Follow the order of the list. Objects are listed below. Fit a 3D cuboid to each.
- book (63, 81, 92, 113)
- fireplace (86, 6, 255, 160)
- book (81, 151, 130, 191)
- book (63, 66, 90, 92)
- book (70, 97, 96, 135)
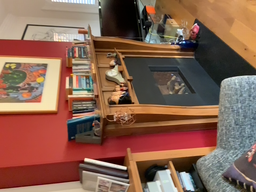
[{"bbox_3d":[-0.440,0.000,1.850,0.260,0.230,0.140,-108,21,-47],"label":"book"},{"bbox_3d":[0.300,-0.280,2.330,1.600,1.400,0.770,-108,21,-47],"label":"fireplace"},{"bbox_3d":[-0.180,0.600,1.550,0.200,0.310,0.330,-107,21,-47],"label":"book"},{"bbox_3d":[-0.490,-0.170,2.020,0.230,0.230,0.130,-107,21,-45],"label":"book"},{"bbox_3d":[-0.360,0.150,1.660,0.250,0.180,0.160,-107,21,-46],"label":"book"}]
